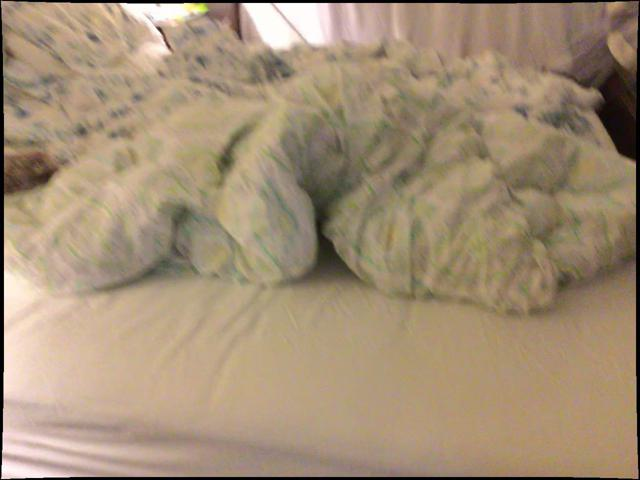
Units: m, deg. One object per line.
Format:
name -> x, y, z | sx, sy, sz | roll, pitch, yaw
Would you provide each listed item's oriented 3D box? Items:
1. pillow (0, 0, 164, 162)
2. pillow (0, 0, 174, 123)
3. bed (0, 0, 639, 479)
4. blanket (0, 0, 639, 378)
pillow -> -0.888, -0.581, 1.970 | 0.409, 0.300, 0.701 | 5, 37, 8
pillow -> -0.888, -0.772, 2.150 | 0.369, 0.351, 0.771 | 5, 37, 8
bed -> -0.200, -0.261, 1.680 | 2.494, 1.312, 2.041 | 6, 37, 9
blanket -> -0.130, -0.441, 1.660 | 2.115, 0.421, 1.541 | 5, 37, 8
